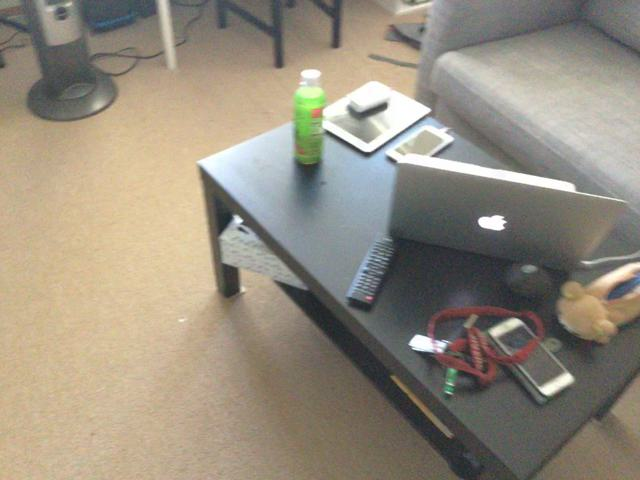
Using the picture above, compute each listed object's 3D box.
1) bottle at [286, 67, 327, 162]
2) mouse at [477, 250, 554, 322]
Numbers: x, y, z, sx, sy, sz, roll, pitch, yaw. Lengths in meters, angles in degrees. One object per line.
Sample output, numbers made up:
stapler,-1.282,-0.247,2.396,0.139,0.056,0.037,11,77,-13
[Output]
bottle,-0.030,-0.260,1.210,0.050,0.170,0.080,-21,51,-20
mouse,0.340,0.080,1.010,0.100,0.070,0.060,25,51,20
